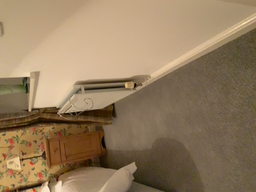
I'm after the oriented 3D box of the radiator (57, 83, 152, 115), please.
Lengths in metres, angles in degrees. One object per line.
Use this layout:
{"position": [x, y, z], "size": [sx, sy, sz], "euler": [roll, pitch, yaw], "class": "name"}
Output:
{"position": [-0.290, 0.050, 2.010], "size": [0.980, 0.600, 0.070], "euler": [-25, 72, 61], "class": "radiator"}
